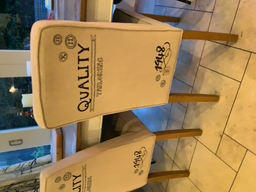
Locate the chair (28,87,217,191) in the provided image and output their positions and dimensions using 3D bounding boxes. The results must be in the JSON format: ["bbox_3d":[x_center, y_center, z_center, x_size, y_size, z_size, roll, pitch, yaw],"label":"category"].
[{"bbox_3d":[-0.090,0.310,1.400,0.700,0.970,0.460,44,132,53],"label":"chair"}]
